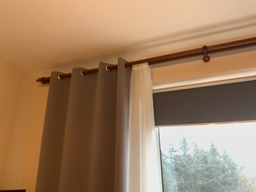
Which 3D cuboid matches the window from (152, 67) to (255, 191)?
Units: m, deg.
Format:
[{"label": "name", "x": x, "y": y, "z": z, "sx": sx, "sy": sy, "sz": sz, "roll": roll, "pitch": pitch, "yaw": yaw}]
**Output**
[{"label": "window", "x": 0.710, "y": 0.560, "z": 1.420, "sx": 1.060, "sy": 1.510, "sz": 0.150, "roll": -8, "pitch": -21, "yaw": 24}]
